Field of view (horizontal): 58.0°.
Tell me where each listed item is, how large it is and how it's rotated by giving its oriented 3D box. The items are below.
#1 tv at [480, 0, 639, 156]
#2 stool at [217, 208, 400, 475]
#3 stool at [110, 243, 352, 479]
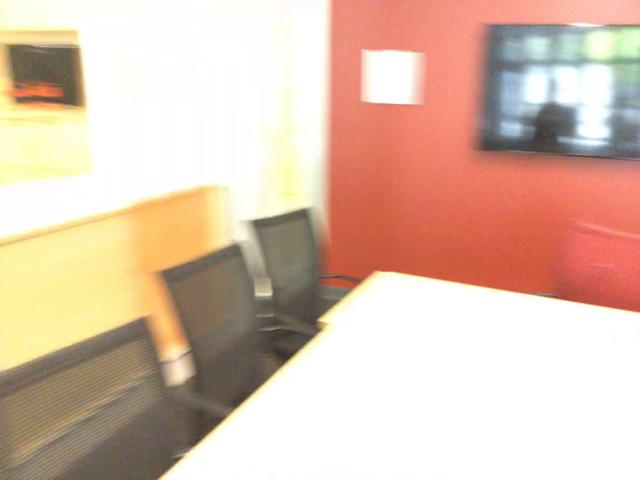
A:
[{"bbox_3d":[1.480,-0.820,2.970,1.210,0.750,0.160,6,12,22],"label":"tv"},{"bbox_3d":[-0.040,0.360,2.370,0.570,0.890,0.460,7,13,27],"label":"stool"},{"bbox_3d":[-0.240,0.500,1.770,0.540,0.870,0.460,5,12,21],"label":"stool"}]
